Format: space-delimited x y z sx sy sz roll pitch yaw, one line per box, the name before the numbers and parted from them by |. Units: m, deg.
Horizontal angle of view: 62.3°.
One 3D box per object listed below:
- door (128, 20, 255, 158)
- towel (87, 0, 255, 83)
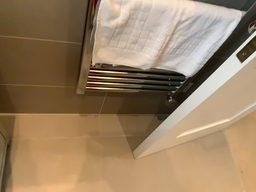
door | 0.620 -0.200 0.580 0.780 1.900 0.050 -11 65 -24
towel | 0.140 -0.190 0.730 0.520 0.320 0.100 3 60 -17
